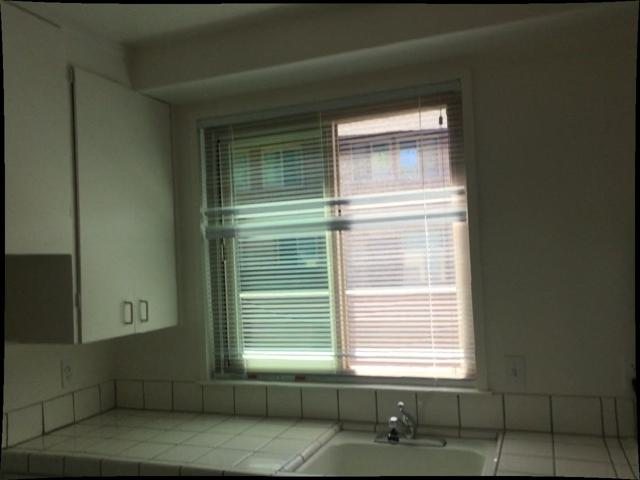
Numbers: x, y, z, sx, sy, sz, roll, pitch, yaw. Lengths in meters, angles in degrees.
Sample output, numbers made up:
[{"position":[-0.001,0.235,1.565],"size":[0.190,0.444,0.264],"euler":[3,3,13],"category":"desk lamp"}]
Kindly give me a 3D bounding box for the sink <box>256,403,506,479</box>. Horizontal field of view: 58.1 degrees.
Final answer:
[{"position":[0.230,0.781,1.850],"size":[0.649,0.280,0.590],"euler":[-1,2,23],"category":"sink"}]

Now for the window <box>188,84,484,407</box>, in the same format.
[{"position":[0.040,0.030,2.320],"size":[1.148,1.122,0.220],"euler":[-1,2,23],"category":"window"}]
